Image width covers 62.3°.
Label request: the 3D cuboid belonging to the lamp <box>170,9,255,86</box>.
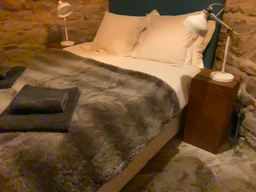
[{"bbox_3d":[0.610,-0.360,1.600,0.500,0.530,0.170,-3,27,-8],"label":"lamp"}]

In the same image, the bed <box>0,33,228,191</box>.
[{"bbox_3d":[-0.360,-0.010,2.090,1.770,0.680,2.270,21,33,34],"label":"bed"}]

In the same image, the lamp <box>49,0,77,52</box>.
[{"bbox_3d":[-0.780,-0.870,2.560,0.240,0.550,0.500,-7,27,-16],"label":"lamp"}]
